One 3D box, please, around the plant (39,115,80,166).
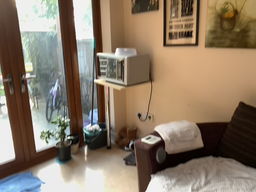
[{"bbox_3d":[-0.820,0.520,2.570,0.370,0.470,0.220,-14,19,-39],"label":"plant"}]
